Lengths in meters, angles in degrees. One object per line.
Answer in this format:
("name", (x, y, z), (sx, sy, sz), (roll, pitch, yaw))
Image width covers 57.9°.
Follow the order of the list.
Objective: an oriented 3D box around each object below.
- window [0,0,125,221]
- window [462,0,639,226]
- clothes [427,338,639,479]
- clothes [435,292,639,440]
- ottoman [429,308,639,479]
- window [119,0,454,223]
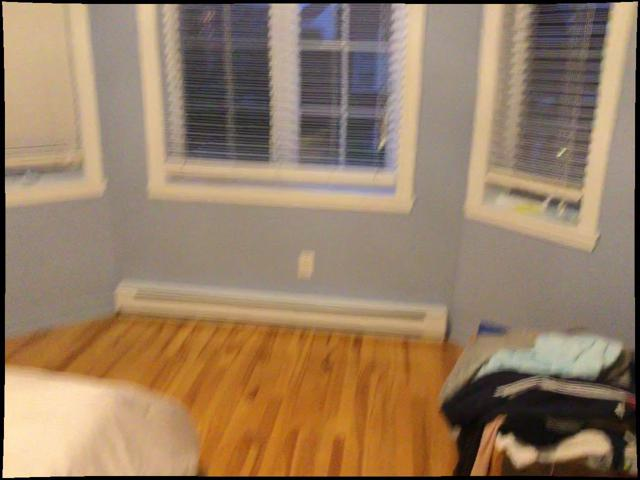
("window", (-1.279, -0.931, 2.480), (0.549, 1.601, 0.470), (3, 20, 6))
("window", (0.869, -0.741, 2.190), (0.480, 1.281, 0.440), (3, 20, 6))
("clothes", (0.649, 0.601, 1.660), (0.619, 0.480, 0.340), (3, 20, 6))
("clothes", (0.709, 0.390, 1.890), (0.609, 0.250, 0.410), (3, 20, 6))
("ottoman", (0.709, 0.581, 1.830), (0.649, 0.410, 0.720), (3, 20, 6))
("window", (-0.150, -0.861, 2.590), (1.419, 1.491, 0.240), (3, 20, 6))
